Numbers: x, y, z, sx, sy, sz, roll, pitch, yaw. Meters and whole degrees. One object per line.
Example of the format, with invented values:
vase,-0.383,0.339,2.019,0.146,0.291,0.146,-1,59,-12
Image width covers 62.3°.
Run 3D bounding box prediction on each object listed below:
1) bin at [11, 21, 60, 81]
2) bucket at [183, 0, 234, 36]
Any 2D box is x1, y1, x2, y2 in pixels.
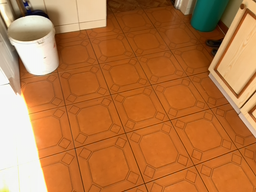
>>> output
bin,-0.690,-0.340,1.600,0.250,0.290,0.290,-13,56,-15
bucket,0.770,-0.850,2.060,0.260,0.390,0.270,-13,56,-15
